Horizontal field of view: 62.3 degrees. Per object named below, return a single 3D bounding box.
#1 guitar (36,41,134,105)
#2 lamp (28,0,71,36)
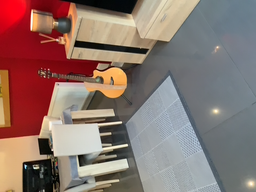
[{"bbox_3d":[-0.490,-0.250,2.570,0.190,1.050,0.460,-164,90,-71],"label":"guitar"},{"bbox_3d":[-0.720,-0.720,1.940,0.220,0.330,0.190,-50,49,50],"label":"lamp"}]
